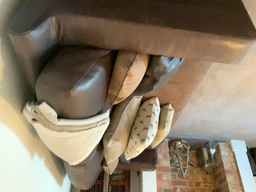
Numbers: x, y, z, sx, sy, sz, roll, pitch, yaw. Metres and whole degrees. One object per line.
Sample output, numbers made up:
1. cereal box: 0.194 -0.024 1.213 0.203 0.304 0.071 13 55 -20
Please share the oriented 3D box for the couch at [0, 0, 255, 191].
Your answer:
1. couch: -0.080 0.120 1.650 1.020 0.870 1.890 6 145 -6
